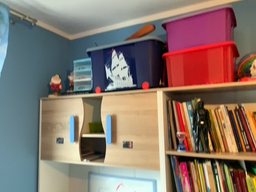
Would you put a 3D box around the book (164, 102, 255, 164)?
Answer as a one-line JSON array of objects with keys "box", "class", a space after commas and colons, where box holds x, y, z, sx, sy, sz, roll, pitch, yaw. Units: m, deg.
[{"box": [0.620, 0.210, 1.270, 0.750, 0.320, 0.260, -4, -6, 23], "class": "book"}]

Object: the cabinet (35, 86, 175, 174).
[{"box": [-0.200, 0.240, 1.630, 1.010, 0.510, 0.370, -4, -6, 26], "class": "cabinet"}]

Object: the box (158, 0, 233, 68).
[{"box": [0.450, -0.390, 1.380, 0.400, 0.300, 0.380, -4, -6, 26], "class": "box"}]

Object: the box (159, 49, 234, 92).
[{"box": [0.450, -0.140, 1.360, 0.400, 0.160, 0.380, -4, -6, 26], "class": "box"}]
